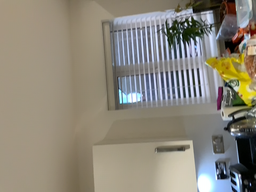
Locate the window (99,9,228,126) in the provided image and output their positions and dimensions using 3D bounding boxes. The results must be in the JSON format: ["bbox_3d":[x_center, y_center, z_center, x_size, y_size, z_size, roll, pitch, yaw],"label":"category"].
[{"bbox_3d":[0.300,-0.260,2.010,0.030,1.110,1.010,36,-131,-80],"label":"window"}]
